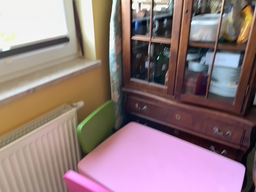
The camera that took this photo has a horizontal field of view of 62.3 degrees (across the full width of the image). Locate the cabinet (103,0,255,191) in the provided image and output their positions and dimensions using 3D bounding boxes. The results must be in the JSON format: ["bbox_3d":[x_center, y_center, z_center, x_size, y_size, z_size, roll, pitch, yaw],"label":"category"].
[{"bbox_3d":[0.380,-0.210,1.380,0.980,1.770,0.430,16,30,28],"label":"cabinet"}]

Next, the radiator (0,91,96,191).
[{"bbox_3d":[-0.610,0.550,1.000,0.170,0.760,1.150,15,30,28],"label":"radiator"}]
